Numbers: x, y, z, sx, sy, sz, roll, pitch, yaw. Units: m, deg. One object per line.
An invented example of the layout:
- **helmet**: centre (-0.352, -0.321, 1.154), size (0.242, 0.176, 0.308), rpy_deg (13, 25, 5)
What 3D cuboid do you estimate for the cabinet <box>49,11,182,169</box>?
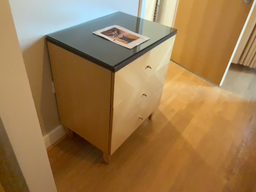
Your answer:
- **cabinet**: centre (-0.070, -0.080, 1.620), size (0.500, 0.850, 0.740), rpy_deg (28, 43, 26)
